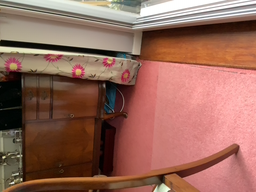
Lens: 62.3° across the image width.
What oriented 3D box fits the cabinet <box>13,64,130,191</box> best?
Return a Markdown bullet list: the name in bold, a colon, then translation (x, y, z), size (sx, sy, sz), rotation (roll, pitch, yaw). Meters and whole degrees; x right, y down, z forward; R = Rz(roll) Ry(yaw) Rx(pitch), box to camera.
- **cabinet**: translation (-0.560, 0.570, 1.980), size (0.500, 0.860, 1.630), rotation (24, 111, 57)
